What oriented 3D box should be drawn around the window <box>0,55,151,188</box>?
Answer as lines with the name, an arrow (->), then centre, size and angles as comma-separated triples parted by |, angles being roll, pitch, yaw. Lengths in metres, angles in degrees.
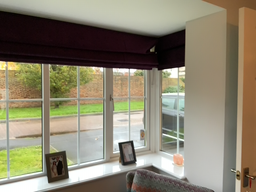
window -> -0.760, 0.190, 1.740 | 2.410, 0.990, 0.060 | -1, 3, -34
